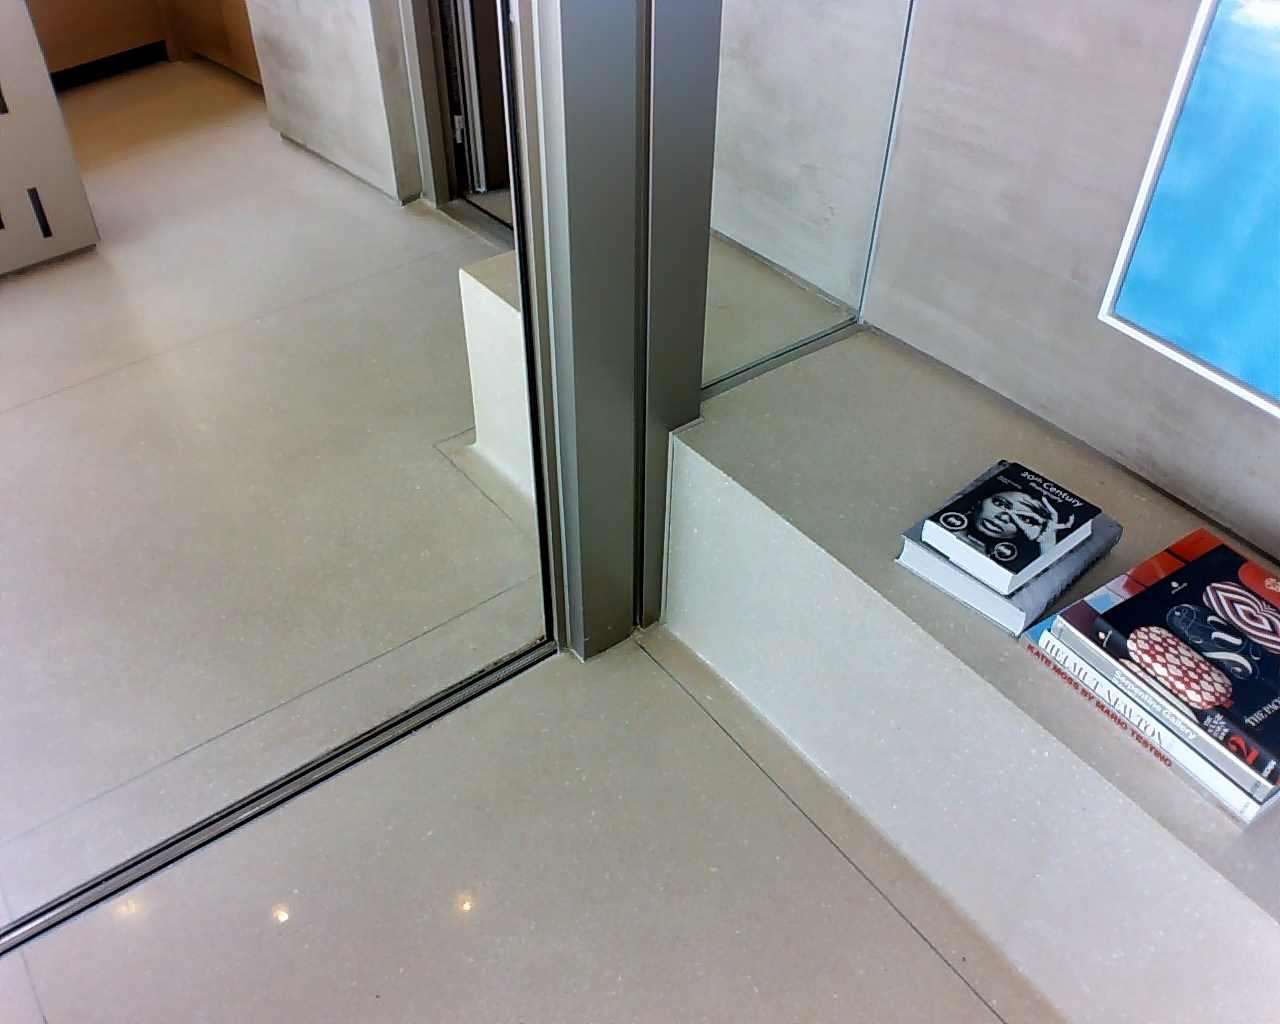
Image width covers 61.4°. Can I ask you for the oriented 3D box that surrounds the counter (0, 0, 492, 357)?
[{"bbox_3d":[-2.150,-1.590,3.350,2.240,1.130,2.390,33,51,32],"label":"counter"}]
